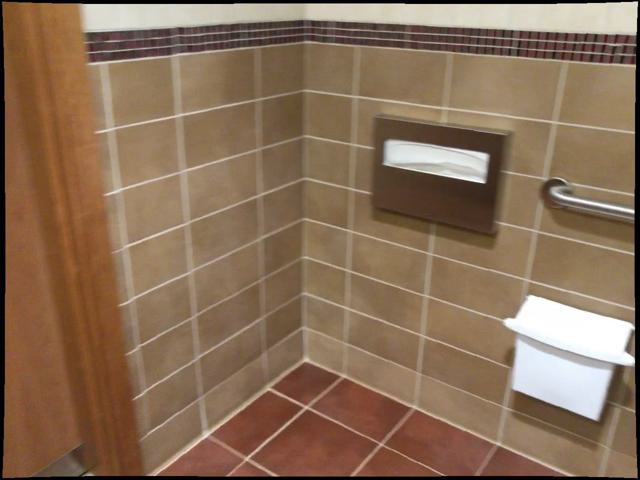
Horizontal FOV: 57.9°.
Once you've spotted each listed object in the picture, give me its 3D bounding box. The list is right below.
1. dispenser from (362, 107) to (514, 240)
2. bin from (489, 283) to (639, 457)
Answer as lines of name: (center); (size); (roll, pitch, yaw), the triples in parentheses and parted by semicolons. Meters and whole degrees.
dispenser: (0.320, -0.200, 1.660); (0.420, 0.300, 0.070); (18, 30, 34)
bin: (0.669, 0.340, 1.570); (0.340, 0.330, 0.150); (18, 30, 34)
